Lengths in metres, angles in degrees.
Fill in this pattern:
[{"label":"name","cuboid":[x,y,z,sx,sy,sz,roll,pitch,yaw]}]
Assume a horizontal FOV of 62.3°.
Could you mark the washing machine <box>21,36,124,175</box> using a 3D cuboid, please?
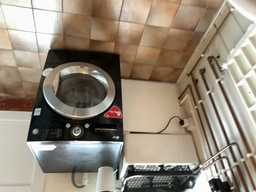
[{"label":"washing machine","cuboid":[-0.410,0.110,1.780,0.580,0.840,0.770,3,143,-11]}]
